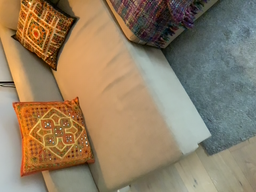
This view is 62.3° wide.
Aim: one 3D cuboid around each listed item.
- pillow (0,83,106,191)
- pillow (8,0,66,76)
[{"bbox_3d":[-0.430,0.220,1.270,0.160,0.450,0.430,-31,98,38],"label":"pillow"},{"bbox_3d":[-0.590,-0.440,1.410,0.140,0.440,0.420,25,128,-26],"label":"pillow"}]
